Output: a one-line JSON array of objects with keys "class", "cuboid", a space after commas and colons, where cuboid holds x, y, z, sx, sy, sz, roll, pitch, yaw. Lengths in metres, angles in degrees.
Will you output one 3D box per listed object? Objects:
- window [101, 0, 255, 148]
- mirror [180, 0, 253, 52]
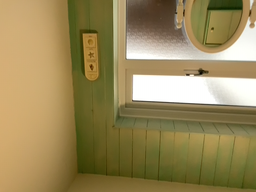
[{"class": "window", "cuboid": [0.540, -0.290, 1.320, 1.370, 1.150, 0.290, 4, -165, 9]}, {"class": "mirror", "cuboid": [0.520, -0.510, 1.270, 0.360, 0.460, 0.140, 3, -165, 8]}]
